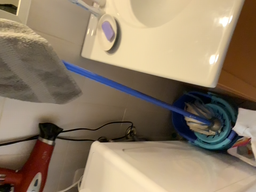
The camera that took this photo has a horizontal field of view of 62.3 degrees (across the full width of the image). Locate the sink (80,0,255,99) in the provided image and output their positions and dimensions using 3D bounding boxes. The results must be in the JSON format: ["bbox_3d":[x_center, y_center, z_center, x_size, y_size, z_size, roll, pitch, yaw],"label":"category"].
[{"bbox_3d":[0.170,-0.440,0.610,0.490,0.200,0.780,19,96,45],"label":"sink"}]
